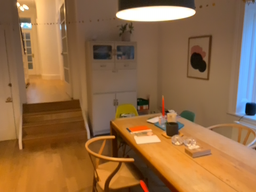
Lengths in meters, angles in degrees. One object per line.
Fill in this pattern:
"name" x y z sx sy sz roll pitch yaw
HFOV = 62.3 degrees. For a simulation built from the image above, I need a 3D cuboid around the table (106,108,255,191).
"table" 0.560 0.770 2.020 1.020 0.760 2.000 -5 12 -21
